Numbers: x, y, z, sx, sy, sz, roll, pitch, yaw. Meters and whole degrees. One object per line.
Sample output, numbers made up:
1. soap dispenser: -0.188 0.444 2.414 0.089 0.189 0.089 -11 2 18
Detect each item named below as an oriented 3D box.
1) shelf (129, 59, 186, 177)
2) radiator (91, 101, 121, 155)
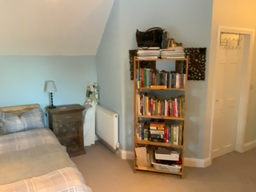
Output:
1. shelf: 0.410 0.290 3.020 0.710 1.590 0.370 2 12 13
2. radiator: -0.420 0.540 3.840 0.160 0.720 0.860 -8 13 -31
